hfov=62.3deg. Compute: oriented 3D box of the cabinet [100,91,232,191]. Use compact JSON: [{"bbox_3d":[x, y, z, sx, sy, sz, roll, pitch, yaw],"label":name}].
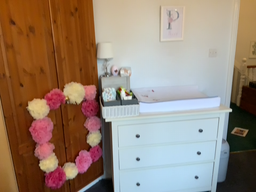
[{"bbox_3d":[0.320,0.530,2.150,1.120,0.980,0.530,-4,17,-8],"label":"cabinet"}]
